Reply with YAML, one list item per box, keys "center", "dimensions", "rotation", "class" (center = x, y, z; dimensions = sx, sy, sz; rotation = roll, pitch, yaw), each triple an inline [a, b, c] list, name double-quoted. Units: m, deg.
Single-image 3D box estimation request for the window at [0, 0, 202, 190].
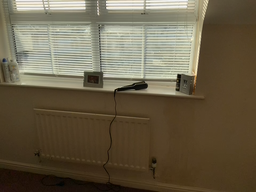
- center: [-0.360, -0.190, 1.960]
  dimensions: [1.840, 2.200, 0.120]
  rotation: [4, 19, 10]
  class: "window"
